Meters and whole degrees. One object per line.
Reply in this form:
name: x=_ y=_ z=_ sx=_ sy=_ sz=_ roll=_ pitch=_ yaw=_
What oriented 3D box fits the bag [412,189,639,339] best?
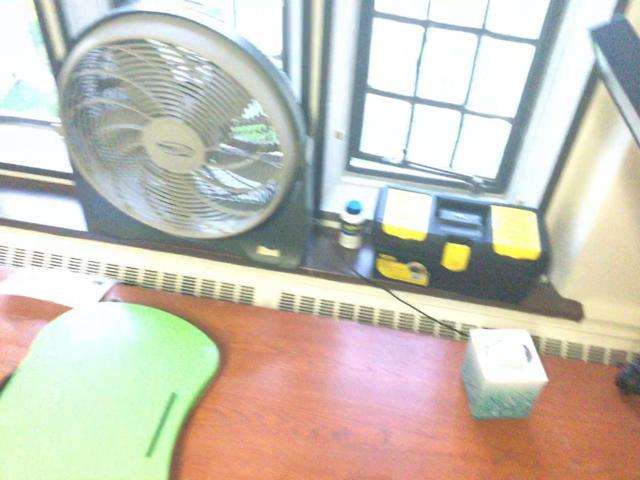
bag: x=0.440 y=0.050 z=1.280 sx=0.430 sy=0.200 sz=0.180 roll=9 pitch=40 yaw=6
